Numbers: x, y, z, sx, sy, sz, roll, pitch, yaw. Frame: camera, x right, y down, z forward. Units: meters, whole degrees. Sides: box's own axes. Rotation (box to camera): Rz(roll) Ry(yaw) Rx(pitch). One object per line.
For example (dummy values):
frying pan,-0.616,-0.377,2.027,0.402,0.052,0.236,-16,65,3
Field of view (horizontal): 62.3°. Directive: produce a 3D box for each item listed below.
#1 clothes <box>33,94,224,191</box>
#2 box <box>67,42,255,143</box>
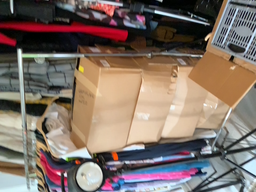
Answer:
clothes,-0.030,0.430,1.750,0.570,1.350,0.660,-127,42,-51
box,0.270,-0.060,1.550,0.450,1.300,0.460,-131,45,-53
